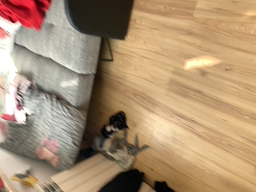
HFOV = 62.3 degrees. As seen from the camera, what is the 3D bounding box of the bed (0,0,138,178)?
[{"bbox_3d":[-0.580,-0.580,1.670,1.220,0.390,1.960,26,111,33],"label":"bed"}]
